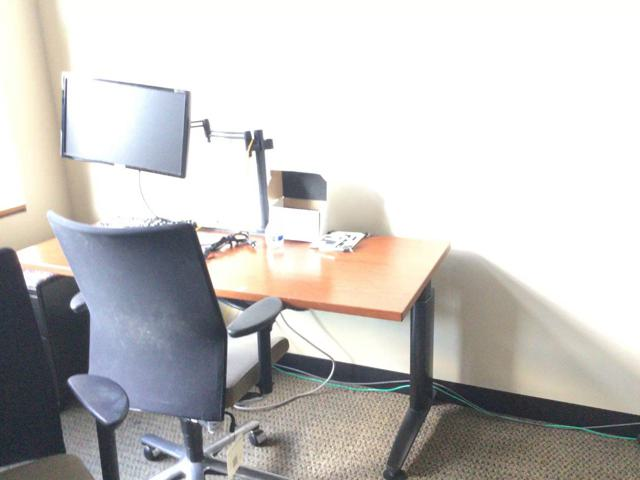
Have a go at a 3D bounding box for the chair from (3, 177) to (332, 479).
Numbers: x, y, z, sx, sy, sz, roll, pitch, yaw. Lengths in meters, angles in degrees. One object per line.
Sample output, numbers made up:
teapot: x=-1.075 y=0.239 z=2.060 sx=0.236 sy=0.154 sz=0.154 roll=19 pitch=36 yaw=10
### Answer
chair: x=-0.390 y=0.380 z=1.740 sx=0.700 sy=1.020 sz=0.540 roll=7 pitch=17 yaw=23

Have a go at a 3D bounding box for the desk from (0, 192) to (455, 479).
desk: x=-0.340 y=0.340 z=2.190 sx=1.500 sy=0.810 sz=0.750 roll=7 pitch=17 yaw=23
